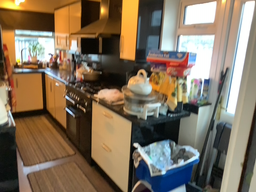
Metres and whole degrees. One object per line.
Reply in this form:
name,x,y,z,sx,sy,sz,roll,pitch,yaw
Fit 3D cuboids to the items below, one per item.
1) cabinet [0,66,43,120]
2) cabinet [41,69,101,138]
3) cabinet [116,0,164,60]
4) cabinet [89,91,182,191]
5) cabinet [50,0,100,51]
cabinet,-2.210,-0.090,4.170,0.840,0.900,0.590,-7,17,-34
cabinet,-1.080,0.040,3.860,0.640,0.910,1.240,-7,17,-34
cabinet,0.120,-0.790,2.260,0.320,0.760,0.370,-7,17,-34
cabinet,0.030,0.490,2.330,0.630,0.910,0.780,-7,17,-34
cabinet,-1.000,-1.240,3.800,0.340,0.760,1.450,-7,17,-34
